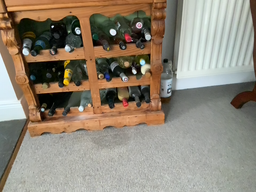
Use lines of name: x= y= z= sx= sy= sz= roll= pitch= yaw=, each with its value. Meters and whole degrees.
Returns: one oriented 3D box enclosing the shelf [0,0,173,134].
shelf: x=-0.230 y=-0.300 z=1.270 sx=0.860 sy=0.930 sz=0.420 roll=-5 pitch=32 yaw=-3
